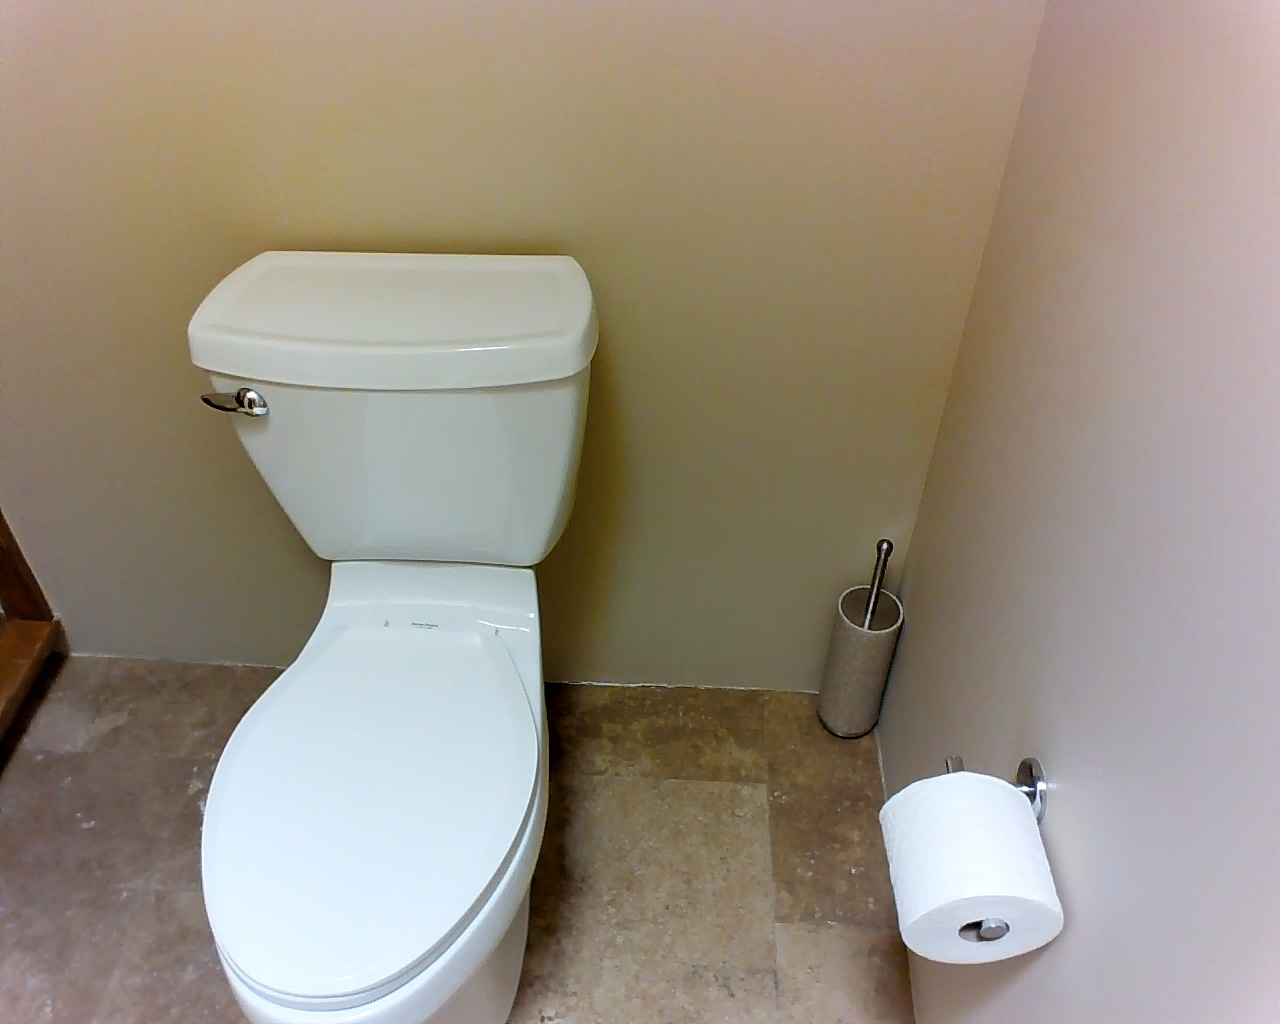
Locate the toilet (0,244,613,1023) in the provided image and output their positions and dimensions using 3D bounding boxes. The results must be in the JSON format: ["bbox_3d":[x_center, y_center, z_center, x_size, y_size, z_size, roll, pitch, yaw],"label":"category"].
[{"bbox_3d":[-0.290,0.250,1.280,0.470,0.820,0.790,2,42,1],"label":"toilet"}]

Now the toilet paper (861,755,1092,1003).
[{"bbox_3d":[0.290,0.330,0.960,0.140,0.170,0.140,2,42,1],"label":"toilet paper"}]
